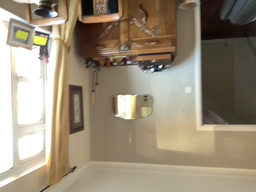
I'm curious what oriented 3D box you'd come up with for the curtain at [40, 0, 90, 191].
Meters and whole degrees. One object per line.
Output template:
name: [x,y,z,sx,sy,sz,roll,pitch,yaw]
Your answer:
curtain: [-0.700,-0.280,2.420,0.310,2.550,0.500,-1,180,13]
